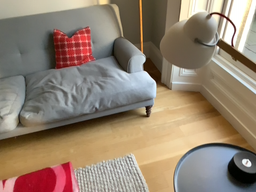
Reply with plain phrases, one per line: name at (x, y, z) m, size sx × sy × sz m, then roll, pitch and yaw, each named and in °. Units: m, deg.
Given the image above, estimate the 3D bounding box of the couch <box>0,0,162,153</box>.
couch at (-0.950, -0.200, 1.830) m, size 2.170 × 0.700 × 1.070 m, roll -13°, pitch 39°, yaw -12°
